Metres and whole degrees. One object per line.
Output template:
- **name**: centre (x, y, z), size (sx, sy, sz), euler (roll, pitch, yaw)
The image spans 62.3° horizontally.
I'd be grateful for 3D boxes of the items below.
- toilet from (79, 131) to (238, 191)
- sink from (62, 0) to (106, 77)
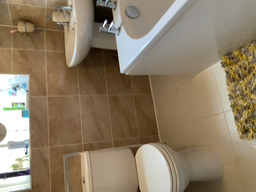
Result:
- **toilet**: centre (0.130, 0.500, 1.390), size (0.680, 0.750, 0.380), euler (144, 121, -62)
- **sink**: centre (-0.370, -0.460, 1.640), size (0.580, 0.180, 0.440), euler (141, 123, -61)
